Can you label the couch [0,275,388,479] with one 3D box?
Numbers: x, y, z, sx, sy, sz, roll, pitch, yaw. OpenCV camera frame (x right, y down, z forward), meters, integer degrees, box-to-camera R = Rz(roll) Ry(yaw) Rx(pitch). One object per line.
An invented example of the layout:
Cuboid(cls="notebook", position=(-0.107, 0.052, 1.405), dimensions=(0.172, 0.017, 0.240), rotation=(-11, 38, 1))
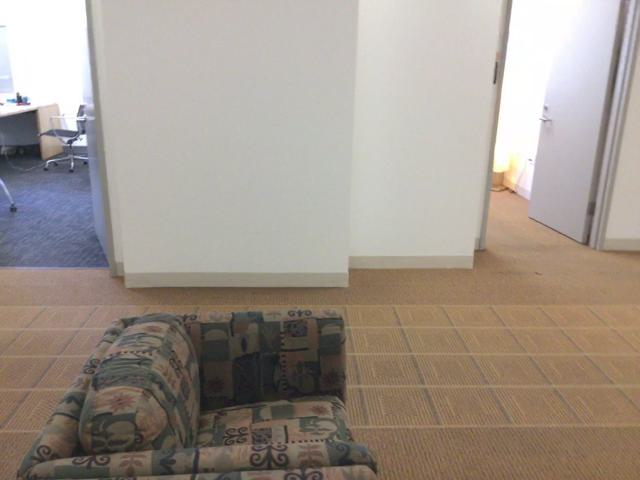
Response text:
Cuboid(cls="couch", position=(-0.250, 0.600, 1.570), dimensions=(0.750, 0.730, 0.750), rotation=(-3, 19, -2))
